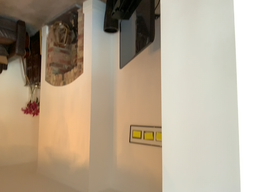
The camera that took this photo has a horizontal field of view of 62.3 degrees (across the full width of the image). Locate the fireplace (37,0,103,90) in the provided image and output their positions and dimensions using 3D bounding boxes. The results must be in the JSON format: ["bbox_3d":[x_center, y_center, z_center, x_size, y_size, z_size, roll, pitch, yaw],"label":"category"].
[{"bbox_3d":[-0.960,-0.720,3.430,1.140,1.130,0.460,-4,175,41],"label":"fireplace"}]
